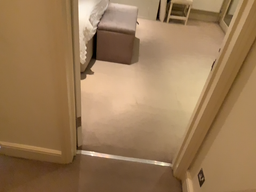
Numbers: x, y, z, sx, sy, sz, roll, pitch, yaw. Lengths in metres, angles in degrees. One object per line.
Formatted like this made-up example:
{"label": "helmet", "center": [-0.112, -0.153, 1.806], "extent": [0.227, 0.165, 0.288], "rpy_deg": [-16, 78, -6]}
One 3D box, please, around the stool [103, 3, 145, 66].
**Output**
{"label": "stool", "center": [-0.040, -0.900, 3.010], "extent": [0.470, 0.480, 0.940], "rpy_deg": [7, 39, -2]}

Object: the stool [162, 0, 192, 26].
{"label": "stool", "center": [0.950, -1.720, 4.200], "extent": [0.430, 0.490, 0.380], "rpy_deg": [7, 39, -2]}
